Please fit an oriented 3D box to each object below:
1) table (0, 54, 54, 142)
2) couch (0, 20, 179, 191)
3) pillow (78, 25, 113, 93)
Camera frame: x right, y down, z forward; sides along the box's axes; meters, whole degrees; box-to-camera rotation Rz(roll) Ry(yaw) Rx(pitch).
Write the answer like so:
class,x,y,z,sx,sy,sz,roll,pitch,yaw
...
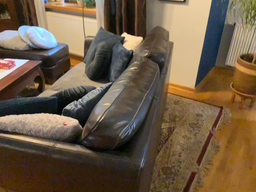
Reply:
class,x,y,z,sx,sy,sz,roll,pitch,yaw
table,-1.400,-0.020,2.260,0.620,0.440,1.220,6,31,9
couch,-0.230,0.020,1.800,1.070,0.860,1.900,9,31,13
pillow,-0.330,-0.390,2.130,0.150,0.340,0.640,-18,49,-3
